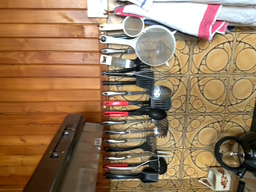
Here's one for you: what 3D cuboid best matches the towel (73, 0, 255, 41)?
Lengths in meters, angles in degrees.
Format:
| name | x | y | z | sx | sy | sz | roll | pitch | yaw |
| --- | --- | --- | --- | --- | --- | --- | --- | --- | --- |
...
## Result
| name | x | y | z | sx | sy | sz | roll | pitch | yaw |
| --- | --- | --- | --- | --- | --- | --- | --- | --- | --- |
| towel | 0.180 | -0.420 | 0.800 | 0.230 | 0.730 | 0.400 | -104 | 14 | -73 |
